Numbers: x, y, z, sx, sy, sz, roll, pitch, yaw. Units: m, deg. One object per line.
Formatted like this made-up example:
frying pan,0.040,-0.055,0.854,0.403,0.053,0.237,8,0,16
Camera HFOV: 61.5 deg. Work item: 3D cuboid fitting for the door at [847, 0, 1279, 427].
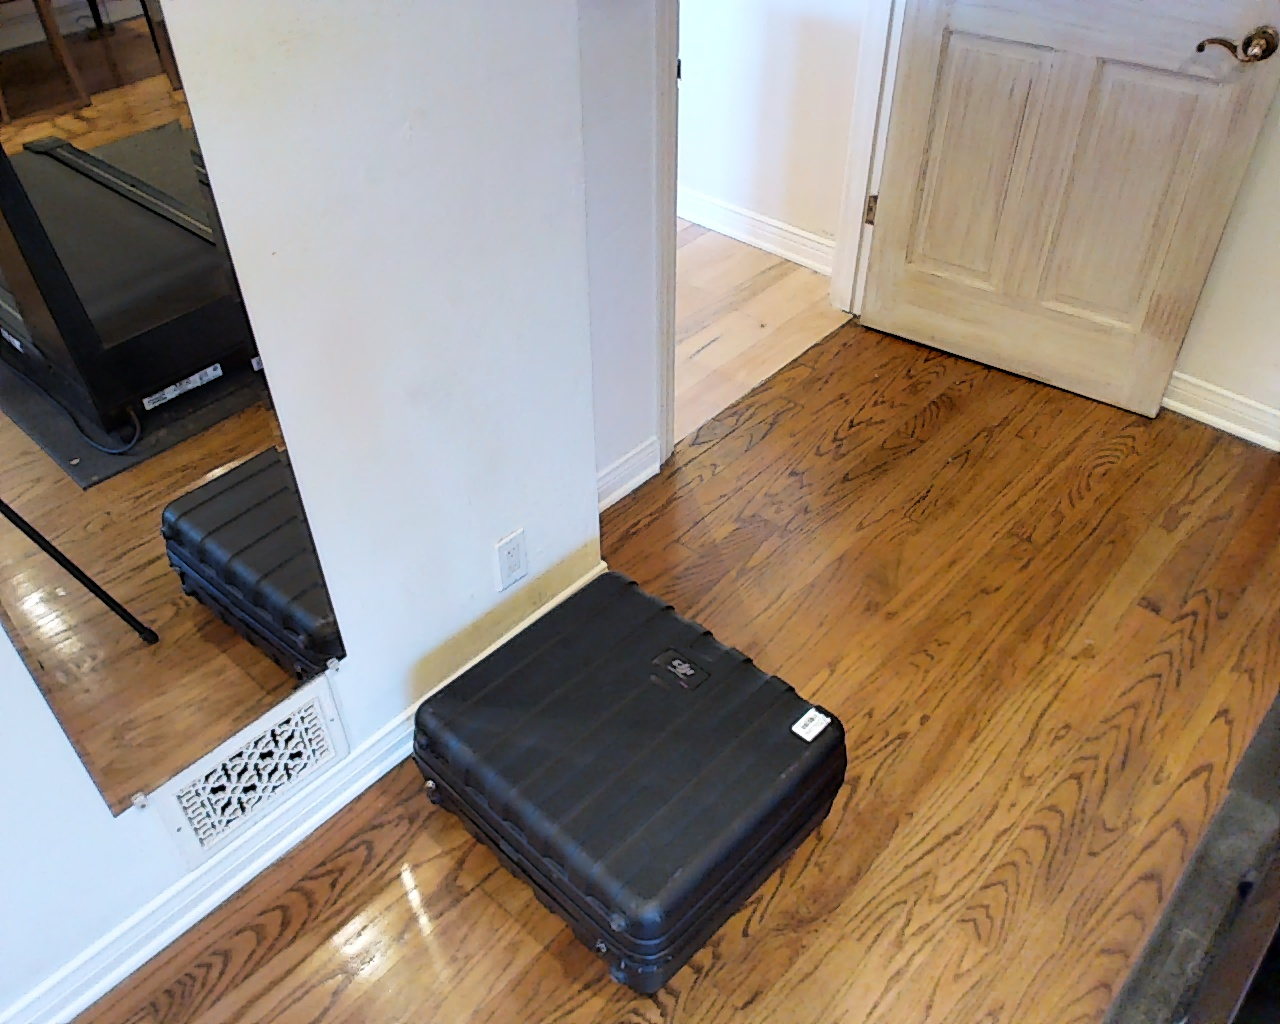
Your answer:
door,0.960,-1.180,2.190,0.900,2.110,0.050,24,47,25
